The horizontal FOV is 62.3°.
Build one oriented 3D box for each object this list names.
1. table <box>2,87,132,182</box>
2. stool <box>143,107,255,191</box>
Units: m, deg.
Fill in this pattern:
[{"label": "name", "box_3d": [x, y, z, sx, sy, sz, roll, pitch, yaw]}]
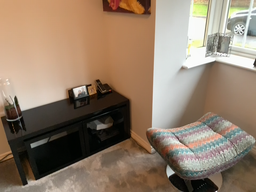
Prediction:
[{"label": "table", "box_3d": [-0.500, 0.290, 1.970, 1.050, 0.410, 0.360, -18, 31, -30]}, {"label": "stool", "box_3d": [0.530, 0.440, 1.650, 0.670, 0.410, 0.480, -12, 29, -22]}]
